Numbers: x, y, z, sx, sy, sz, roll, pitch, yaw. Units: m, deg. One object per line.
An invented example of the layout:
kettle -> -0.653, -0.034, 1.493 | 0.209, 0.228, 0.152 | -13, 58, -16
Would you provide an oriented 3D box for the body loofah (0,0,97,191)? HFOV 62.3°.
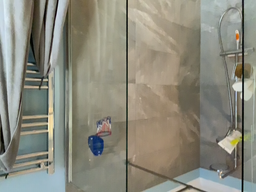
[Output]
body loofah -> -0.450, -0.320, 1.060 | 0.470, 1.570, 0.330 | -1, -178, -43
